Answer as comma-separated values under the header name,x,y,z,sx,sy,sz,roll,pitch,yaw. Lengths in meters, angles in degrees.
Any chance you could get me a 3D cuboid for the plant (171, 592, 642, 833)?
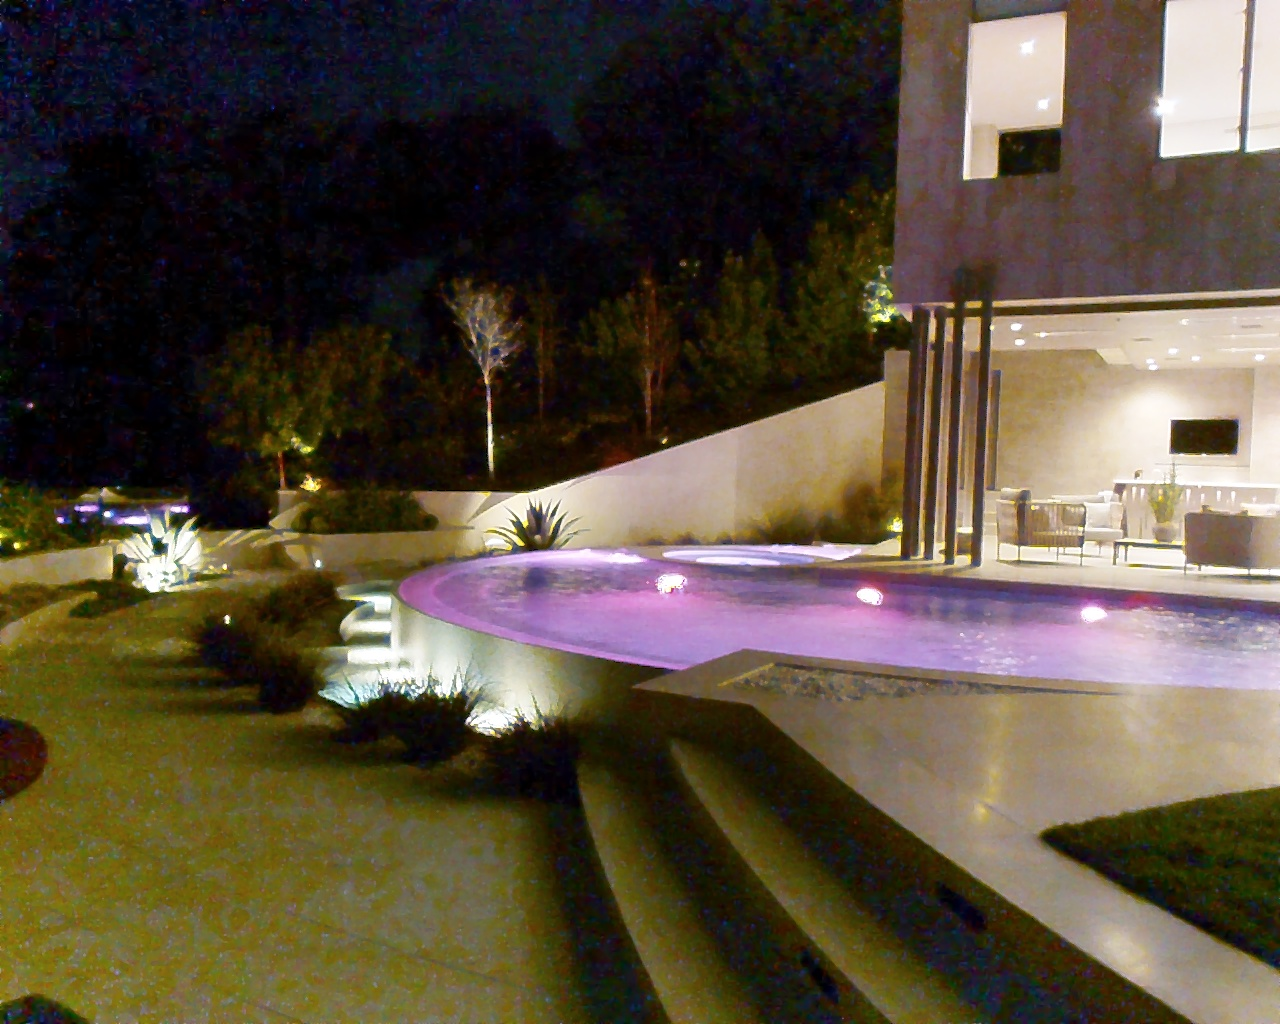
name,x,y,z,sx,sy,sz,roll,pitch,yaw
plant,-1.700,0.980,6.370,0.600,0.520,4.430,0,3,-42
